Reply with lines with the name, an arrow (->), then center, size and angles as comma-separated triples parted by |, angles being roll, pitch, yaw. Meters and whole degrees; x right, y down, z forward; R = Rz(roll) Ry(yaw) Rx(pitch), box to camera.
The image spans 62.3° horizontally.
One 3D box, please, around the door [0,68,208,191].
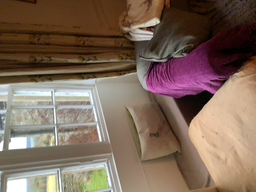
door -> -0.560, 0.430, 1.430 | 1.810, 2.200, 0.120 | -112, 33, -41
